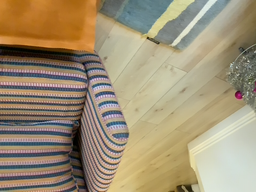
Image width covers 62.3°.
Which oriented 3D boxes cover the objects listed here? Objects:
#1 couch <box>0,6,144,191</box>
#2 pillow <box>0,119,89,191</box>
[{"bbox_3d":[-0.510,0.180,0.990,0.870,0.790,0.820,4,139,-13],"label":"couch"},{"bbox_3d":[-0.430,0.250,0.890,0.480,0.400,0.150,2,108,-16],"label":"pillow"}]
